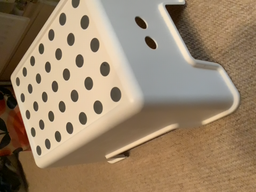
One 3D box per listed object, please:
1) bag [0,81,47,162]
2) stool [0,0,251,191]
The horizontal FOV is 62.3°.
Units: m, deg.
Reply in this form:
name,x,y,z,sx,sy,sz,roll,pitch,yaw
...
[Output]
name,x,y,z,sx,sy,sz,roll,pitch,yaw
bag,-0.570,0.130,0.870,0.350,0.270,0.240,-33,73,37
stool,-0.070,-0.030,0.480,0.460,0.250,0.350,-35,72,36
